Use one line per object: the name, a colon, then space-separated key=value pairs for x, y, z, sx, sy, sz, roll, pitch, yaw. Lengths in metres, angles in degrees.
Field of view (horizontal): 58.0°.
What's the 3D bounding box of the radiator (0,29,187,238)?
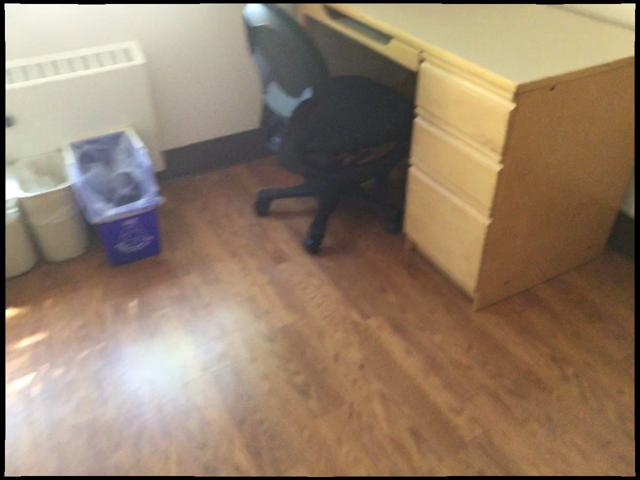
radiator: x=-1.118 y=-0.361 z=2.150 sx=1.108 sy=0.581 sz=0.250 roll=-20 pitch=40 yaw=-21
